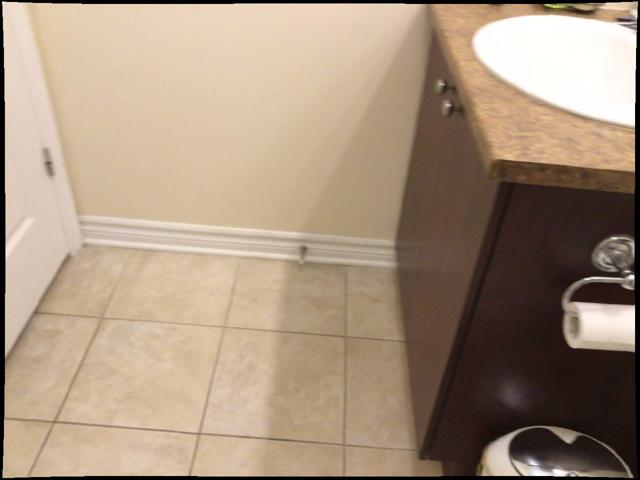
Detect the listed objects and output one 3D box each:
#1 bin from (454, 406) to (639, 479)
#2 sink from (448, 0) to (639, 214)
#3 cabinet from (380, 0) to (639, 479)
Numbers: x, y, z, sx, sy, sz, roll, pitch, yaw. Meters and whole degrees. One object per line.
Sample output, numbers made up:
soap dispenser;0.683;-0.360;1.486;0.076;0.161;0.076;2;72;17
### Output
bin;0.430;0.501;1.120;0.260;0.290;0.200;3;39;-1
sink;0.529;-0.270;1.060;0.480;0.220;0.450;3;39;-1
cabinet;0.499;-0.050;1.280;0.569;0.931;0.830;3;39;-1
